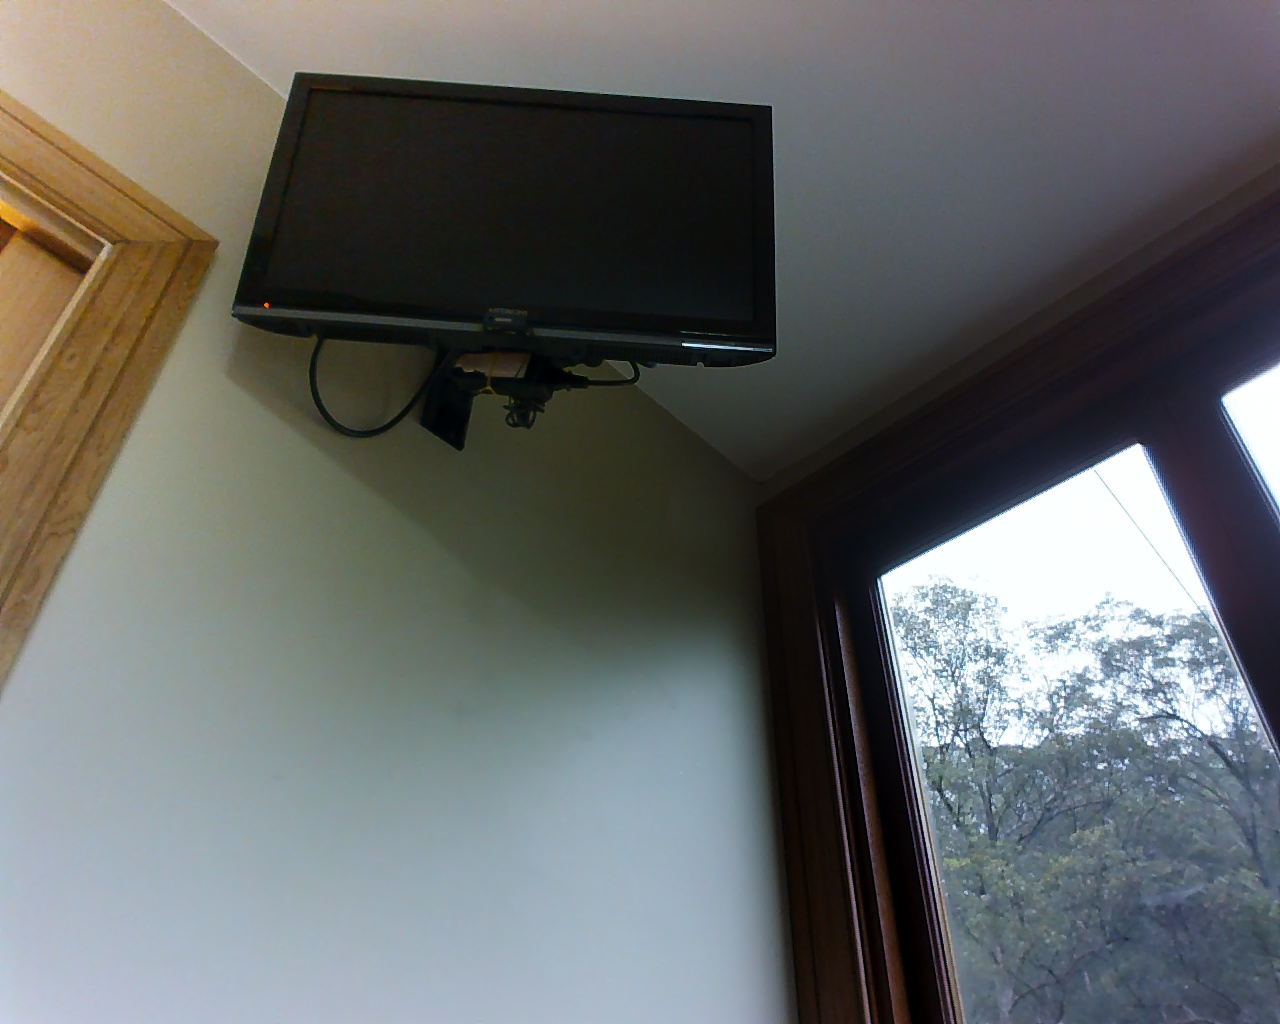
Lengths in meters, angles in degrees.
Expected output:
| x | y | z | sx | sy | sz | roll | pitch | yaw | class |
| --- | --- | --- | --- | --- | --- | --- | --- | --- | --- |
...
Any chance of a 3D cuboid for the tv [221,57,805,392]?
| x | y | z | sx | sy | sz | roll | pitch | yaw | class |
| --- | --- | --- | --- | --- | --- | --- | --- | --- | --- |
| -0.120 | -0.340 | 1.220 | 0.570 | 0.360 | 0.100 | 8 | -34 | 6 | tv |
